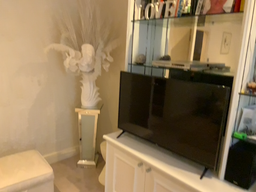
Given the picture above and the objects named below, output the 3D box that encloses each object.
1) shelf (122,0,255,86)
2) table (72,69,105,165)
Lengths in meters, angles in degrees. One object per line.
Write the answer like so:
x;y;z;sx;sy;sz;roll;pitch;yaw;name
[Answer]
0.440;-0.750;1.640;0.370;1.180;1.010;-9;17;-42;shelf
-0.500;0.270;2.730;0.360;1.180;0.330;2;12;-5;table
